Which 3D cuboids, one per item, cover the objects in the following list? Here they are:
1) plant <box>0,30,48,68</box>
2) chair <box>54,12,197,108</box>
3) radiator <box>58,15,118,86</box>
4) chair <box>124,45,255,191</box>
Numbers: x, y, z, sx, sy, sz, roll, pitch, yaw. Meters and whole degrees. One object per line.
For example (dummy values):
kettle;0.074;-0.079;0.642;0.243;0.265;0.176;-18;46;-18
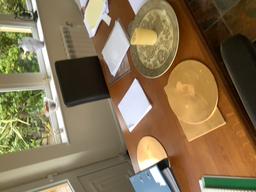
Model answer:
plant;-1.470;-0.610;2.820;0.430;0.670;0.250;-48;57;47
chair;-0.020;-0.270;1.800;0.520;1.000;0.470;-42;61;49
radiator;-0.570;-0.640;2.980;0.150;0.570;1.030;-42;61;49
chair;0.580;0.130;1.000;0.480;1.000;0.470;-43;60;49
